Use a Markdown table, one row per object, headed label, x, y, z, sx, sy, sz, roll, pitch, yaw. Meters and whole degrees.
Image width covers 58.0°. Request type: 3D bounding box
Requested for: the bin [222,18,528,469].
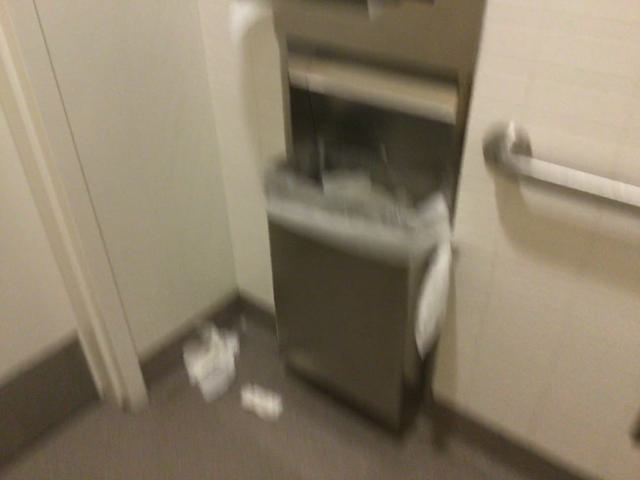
| label | x | y | z | sx | sy | sz | roll | pitch | yaw |
| --- | --- | --- | --- | --- | --- | --- | --- | --- | --- |
| bin | 0.090 | 0.010 | 1.230 | 0.470 | 0.820 | 0.260 | 25 | 41 | 34 |
